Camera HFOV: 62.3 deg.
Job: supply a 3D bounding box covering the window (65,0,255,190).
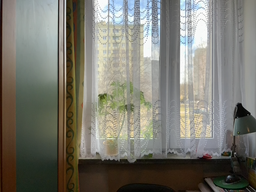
[{"bbox_3d":[0.220,-0.170,1.530,1.260,1.580,0.240,-1,2,-2],"label":"window"}]
